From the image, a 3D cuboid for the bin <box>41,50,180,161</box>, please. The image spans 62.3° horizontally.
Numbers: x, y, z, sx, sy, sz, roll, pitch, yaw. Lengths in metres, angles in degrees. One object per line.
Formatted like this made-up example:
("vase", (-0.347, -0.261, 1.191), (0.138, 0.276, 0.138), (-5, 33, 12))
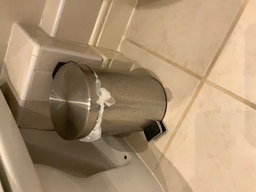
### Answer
("bin", (-0.040, 0.020, 0.540), (0.180, 0.260, 0.160), (42, 115, 37))
